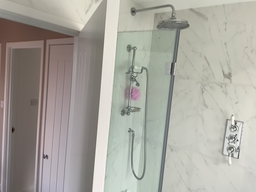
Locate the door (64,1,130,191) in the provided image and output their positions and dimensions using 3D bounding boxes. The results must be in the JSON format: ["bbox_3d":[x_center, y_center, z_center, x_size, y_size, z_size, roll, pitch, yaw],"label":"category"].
[{"bbox_3d":[-0.240,0.690,1.030,0.080,2.030,0.640,3,6,-23],"label":"door"}]
